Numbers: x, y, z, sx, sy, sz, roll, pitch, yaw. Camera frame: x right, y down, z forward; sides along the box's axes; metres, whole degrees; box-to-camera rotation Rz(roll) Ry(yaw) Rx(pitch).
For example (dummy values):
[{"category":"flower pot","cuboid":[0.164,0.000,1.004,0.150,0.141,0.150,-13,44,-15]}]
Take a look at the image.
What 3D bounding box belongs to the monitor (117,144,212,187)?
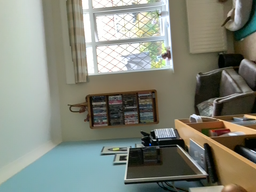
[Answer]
[{"category":"monitor","cuboid":[0.190,0.430,1.430,0.740,0.470,0.040,53,-147,-88]}]
